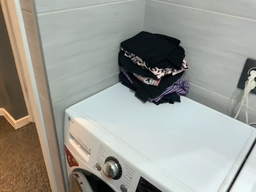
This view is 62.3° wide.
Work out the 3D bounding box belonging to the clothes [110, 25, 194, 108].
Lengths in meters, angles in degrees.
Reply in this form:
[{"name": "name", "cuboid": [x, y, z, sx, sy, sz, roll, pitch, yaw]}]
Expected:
[{"name": "clothes", "cuboid": [0.090, -0.140, 0.900, 0.250, 0.230, 0.210, 29, 41, 32]}]
